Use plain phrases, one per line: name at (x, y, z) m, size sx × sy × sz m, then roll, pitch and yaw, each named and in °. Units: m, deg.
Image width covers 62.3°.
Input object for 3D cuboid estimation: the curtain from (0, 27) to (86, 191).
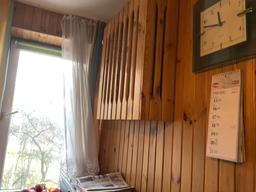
curtain at (-0.790, 0.270, 1.890) m, size 0.630 × 1.650 × 0.150 m, roll 8°, pitch -9°, yaw -24°
